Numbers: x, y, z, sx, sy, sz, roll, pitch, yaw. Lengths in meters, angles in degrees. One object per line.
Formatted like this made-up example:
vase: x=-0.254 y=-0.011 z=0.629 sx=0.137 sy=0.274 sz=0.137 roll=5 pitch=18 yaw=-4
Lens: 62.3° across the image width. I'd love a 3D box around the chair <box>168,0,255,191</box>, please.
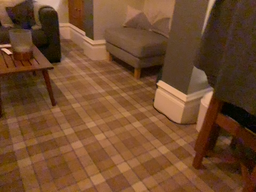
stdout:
chair: x=0.710 y=0.000 z=1.110 sx=0.640 sy=1.050 sz=0.520 roll=-11 pitch=33 yaw=-27
